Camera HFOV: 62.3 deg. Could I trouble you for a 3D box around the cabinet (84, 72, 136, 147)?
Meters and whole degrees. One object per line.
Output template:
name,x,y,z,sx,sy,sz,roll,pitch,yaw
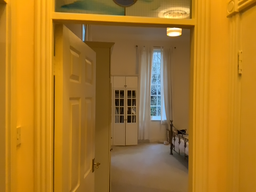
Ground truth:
cabinet,-0.560,0.400,6.600,1.540,2.190,0.570,0,1,-9
